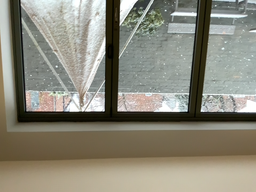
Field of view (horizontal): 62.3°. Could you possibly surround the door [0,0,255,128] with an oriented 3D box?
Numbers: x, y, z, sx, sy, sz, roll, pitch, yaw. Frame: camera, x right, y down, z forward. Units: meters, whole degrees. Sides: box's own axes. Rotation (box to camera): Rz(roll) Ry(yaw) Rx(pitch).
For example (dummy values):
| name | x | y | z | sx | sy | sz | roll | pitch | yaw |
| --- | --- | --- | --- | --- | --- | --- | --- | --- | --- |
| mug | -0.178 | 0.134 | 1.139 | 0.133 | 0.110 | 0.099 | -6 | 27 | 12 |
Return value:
| name | x | y | z | sx | sy | sz | roll | pitch | yaw |
| --- | --- | --- | --- | --- | --- | --- | --- | --- | --- |
| door | 0.270 | -0.820 | 2.270 | 3.020 | 2.270 | 0.270 | 0 | -169 | -9 |
